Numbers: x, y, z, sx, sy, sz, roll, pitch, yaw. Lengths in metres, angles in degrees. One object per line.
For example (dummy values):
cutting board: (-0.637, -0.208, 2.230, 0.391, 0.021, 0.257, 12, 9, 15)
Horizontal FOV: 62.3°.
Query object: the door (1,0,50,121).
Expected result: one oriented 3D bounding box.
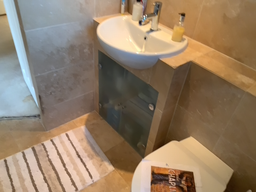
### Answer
door: (-0.850, -0.710, 1.530, 0.050, 1.890, 0.740, -20, 47, -29)
